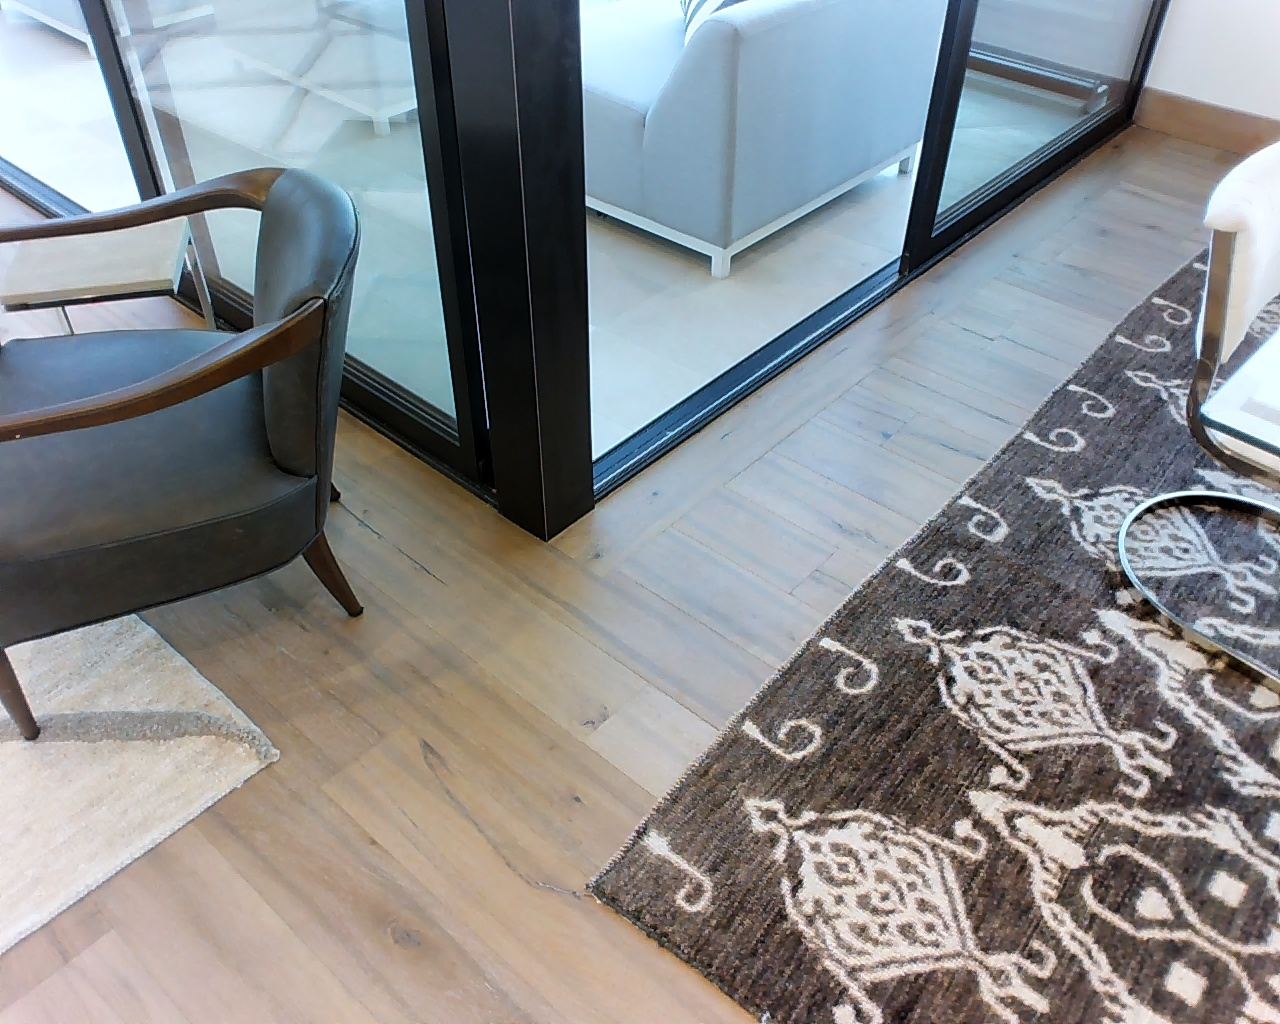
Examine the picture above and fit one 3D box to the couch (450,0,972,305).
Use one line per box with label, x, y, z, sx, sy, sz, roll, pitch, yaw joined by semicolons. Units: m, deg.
couch;0.240;-1.510;3.500;1.150;0.910;1.210;31;50;29
